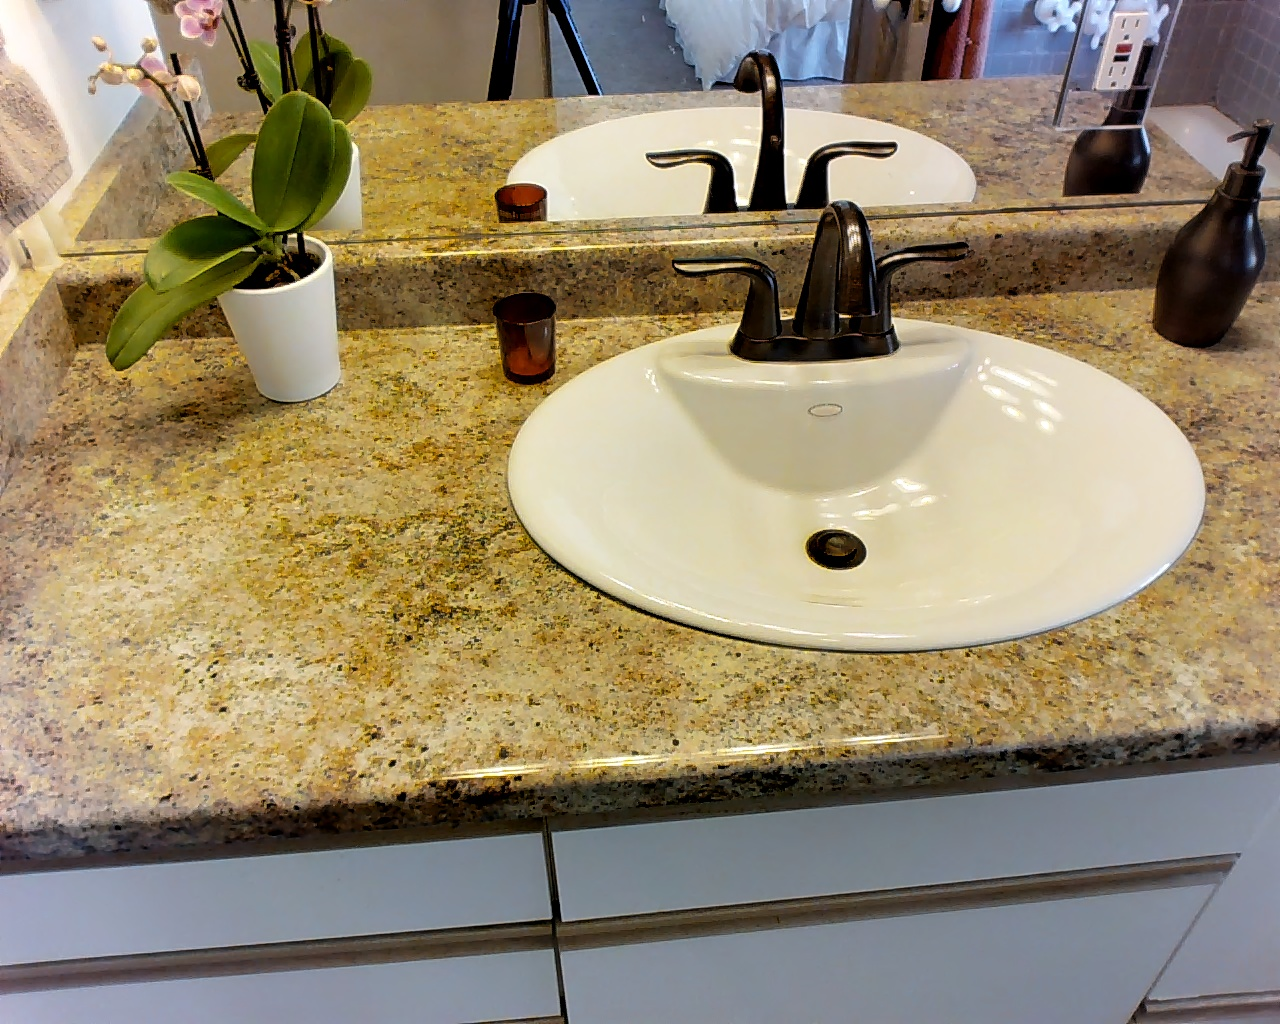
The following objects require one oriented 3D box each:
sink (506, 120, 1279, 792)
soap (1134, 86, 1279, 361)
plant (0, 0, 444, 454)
[{"bbox_3d":[0.190,-0.080,0.890,0.570,0.280,0.480,-5,41,-4],"label":"sink"},{"bbox_3d":[0.550,-0.260,0.970,0.090,0.200,0.130,-5,41,-4],"label":"soap"},{"bbox_3d":[-0.300,-0.280,0.860,0.210,0.400,0.230,-3,41,-2],"label":"plant"}]
